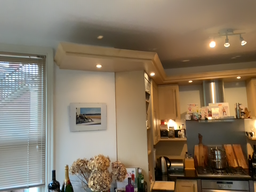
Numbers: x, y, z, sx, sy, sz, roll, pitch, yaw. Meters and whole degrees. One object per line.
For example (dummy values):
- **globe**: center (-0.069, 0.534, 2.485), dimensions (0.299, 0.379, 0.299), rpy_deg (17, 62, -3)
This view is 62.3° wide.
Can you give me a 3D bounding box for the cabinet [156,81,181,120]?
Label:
- **cabinet**: center (0.680, 0.090, 3.540), dimensions (0.340, 0.590, 0.380), rpy_deg (-4, -6, 16)
